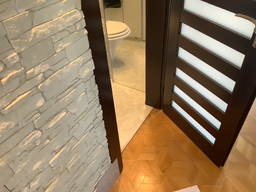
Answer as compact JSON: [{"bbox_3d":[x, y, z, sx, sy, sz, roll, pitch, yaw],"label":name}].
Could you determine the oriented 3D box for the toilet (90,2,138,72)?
[{"bbox_3d":[-0.160,-0.700,2.500,0.440,0.580,0.500,-10,43,-7],"label":"toilet"}]
